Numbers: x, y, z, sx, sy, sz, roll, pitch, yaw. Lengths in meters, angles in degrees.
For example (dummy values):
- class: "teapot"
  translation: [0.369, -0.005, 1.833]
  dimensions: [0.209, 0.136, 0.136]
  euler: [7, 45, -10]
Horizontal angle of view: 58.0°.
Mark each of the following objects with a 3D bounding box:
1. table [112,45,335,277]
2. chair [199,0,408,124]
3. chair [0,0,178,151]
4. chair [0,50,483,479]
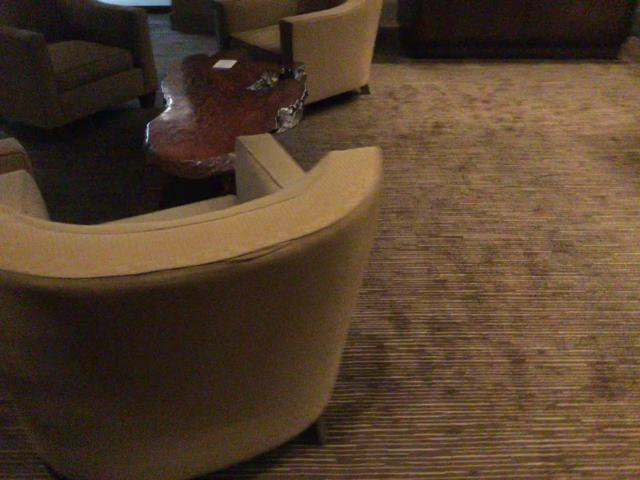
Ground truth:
- class: "table"
  translation: [-0.420, -0.490, 2.740]
  dimensions: [0.750, 0.480, 1.540]
  euler: [-4, 32, -7]
- class: "chair"
  translation: [-0.110, -1.400, 3.730]
  dimensions: [0.980, 0.880, 0.890]
  euler: [-24, 39, -33]
- class: "chair"
  translation: [-1.630, -1.210, 3.410]
  dimensions: [1.070, 0.890, 0.960]
  euler: [18, 36, 26]
- class: "chair"
  translation: [-0.360, 0.100, 1.490]
  dimensions: [0.940, 0.830, 1.070]
  euler: [-13, 34, -20]
